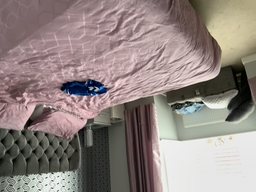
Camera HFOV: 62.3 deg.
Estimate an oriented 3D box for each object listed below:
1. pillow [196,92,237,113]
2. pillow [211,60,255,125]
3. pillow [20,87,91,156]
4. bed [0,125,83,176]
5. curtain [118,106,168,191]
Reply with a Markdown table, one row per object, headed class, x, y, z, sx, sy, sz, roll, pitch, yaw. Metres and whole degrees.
| class | x | y | z | sx | sy | sz | roll | pitch | yaw |
| --- | --- | --- | --- | --- | --- | --- | --- | --- | --- |
| pillow | 1.350 | 0.110 | 3.210 | 0.450 | 0.130 | 0.560 | -16 | 159 | 32 |
| pillow | 1.550 | -0.020 | 3.110 | 0.400 | 0.790 | 0.490 | -15 | 160 | 30 |
| pillow | -0.860 | 0.290 | 2.670 | 0.240 | 0.460 | 0.780 | -15 | -157 | 32 |
| bed | -1.260 | 0.600 | 2.330 | 0.180 | 0.500 | 1.860 | -16 | 159 | 33 |
| curtain | 0.220 | 1.080 | 3.190 | 0.650 | 1.770 | 0.190 | -15 | 160 | 31 |
